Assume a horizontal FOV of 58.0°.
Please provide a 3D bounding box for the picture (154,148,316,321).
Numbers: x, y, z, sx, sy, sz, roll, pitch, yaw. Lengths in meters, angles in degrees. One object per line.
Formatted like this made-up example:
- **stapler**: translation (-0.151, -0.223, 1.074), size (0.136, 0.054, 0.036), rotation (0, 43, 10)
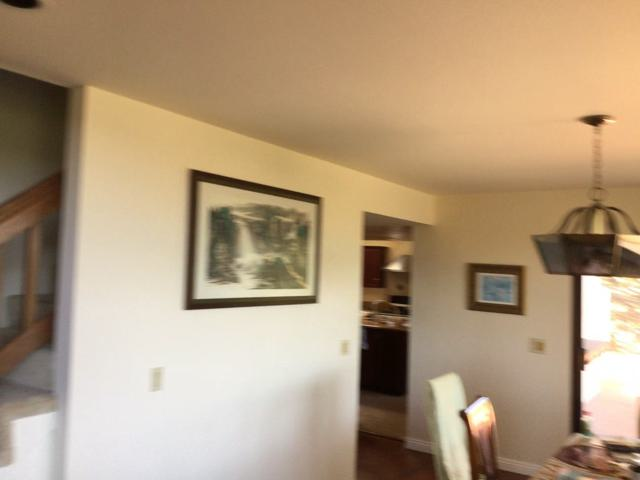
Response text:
- **picture**: translation (-0.420, 0.020, 3.340), size (0.120, 0.840, 1.230), rotation (-3, -6, 33)
